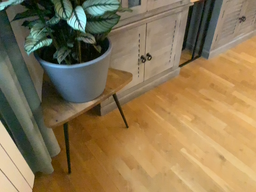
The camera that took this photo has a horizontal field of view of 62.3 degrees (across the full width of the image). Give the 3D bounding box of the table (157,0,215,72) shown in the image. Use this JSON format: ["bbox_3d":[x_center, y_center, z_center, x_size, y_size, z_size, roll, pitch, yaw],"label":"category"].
[{"bbox_3d":[0.580,-0.670,2.190,0.420,0.700,0.260,-27,48,-27],"label":"table"}]

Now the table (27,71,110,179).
[{"bbox_3d":[-0.350,0.190,1.370,0.320,0.550,0.310,-29,49,-28],"label":"table"}]
